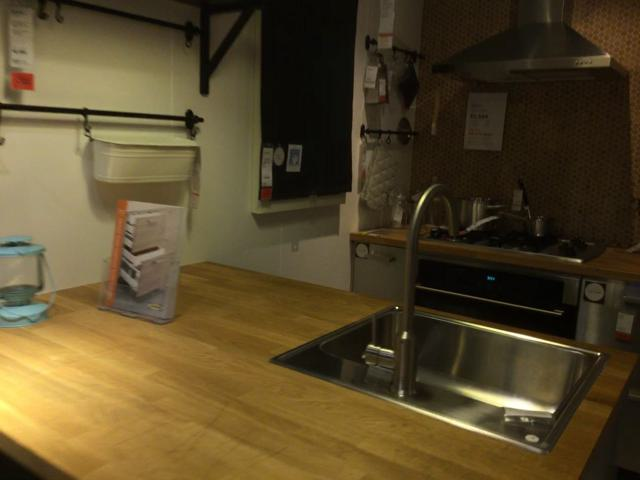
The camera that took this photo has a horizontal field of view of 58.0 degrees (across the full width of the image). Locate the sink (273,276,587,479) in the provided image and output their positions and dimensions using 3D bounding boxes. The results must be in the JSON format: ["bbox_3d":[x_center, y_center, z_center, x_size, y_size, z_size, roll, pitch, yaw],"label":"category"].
[{"bbox_3d":[0.250,0.300,1.270,0.510,0.320,0.480,6,8,35],"label":"sink"}]

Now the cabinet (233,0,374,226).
[{"bbox_3d":[-0.040,-0.720,2.300,0.160,1.280,0.700,6,8,35],"label":"cabinet"}]

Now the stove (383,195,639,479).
[{"bbox_3d":[0.880,0.350,2.640,0.930,1.060,0.680,6,8,35],"label":"stove"}]
